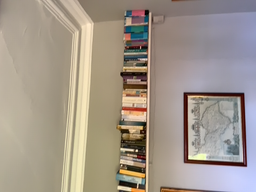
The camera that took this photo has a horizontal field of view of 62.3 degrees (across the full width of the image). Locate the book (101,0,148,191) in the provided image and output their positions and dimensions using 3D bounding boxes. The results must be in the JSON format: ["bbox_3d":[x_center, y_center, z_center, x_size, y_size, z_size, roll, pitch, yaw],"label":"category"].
[{"bbox_3d":[-0.040,1.280,1.580,0.240,0.310,4.220,33,-122,-77],"label":"book"}]
